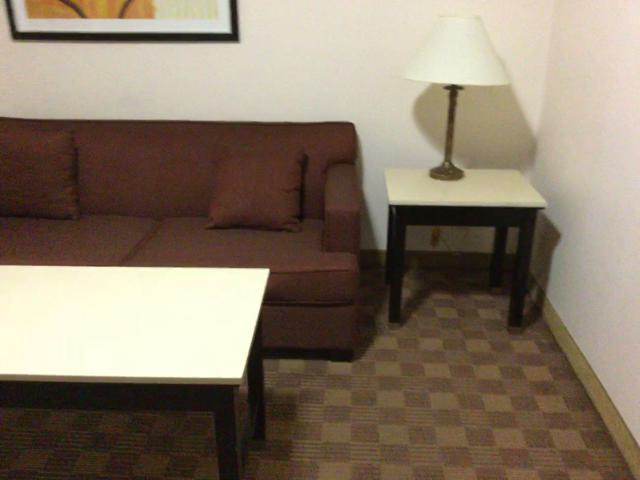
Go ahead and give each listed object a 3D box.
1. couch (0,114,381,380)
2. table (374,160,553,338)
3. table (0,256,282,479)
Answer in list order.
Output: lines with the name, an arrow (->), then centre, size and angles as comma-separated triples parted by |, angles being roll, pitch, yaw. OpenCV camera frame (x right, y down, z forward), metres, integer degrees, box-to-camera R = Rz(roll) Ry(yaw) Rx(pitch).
couch -> -0.720, -0.040, 2.500 | 1.850, 0.860, 0.950 | 0, 21, 1
table -> 0.590, 0.010, 2.630 | 0.630, 0.620, 0.620 | 1, 21, 2
table -> -0.680, 0.460, 1.570 | 1.120, 0.640, 0.590 | -1, 21, -2
